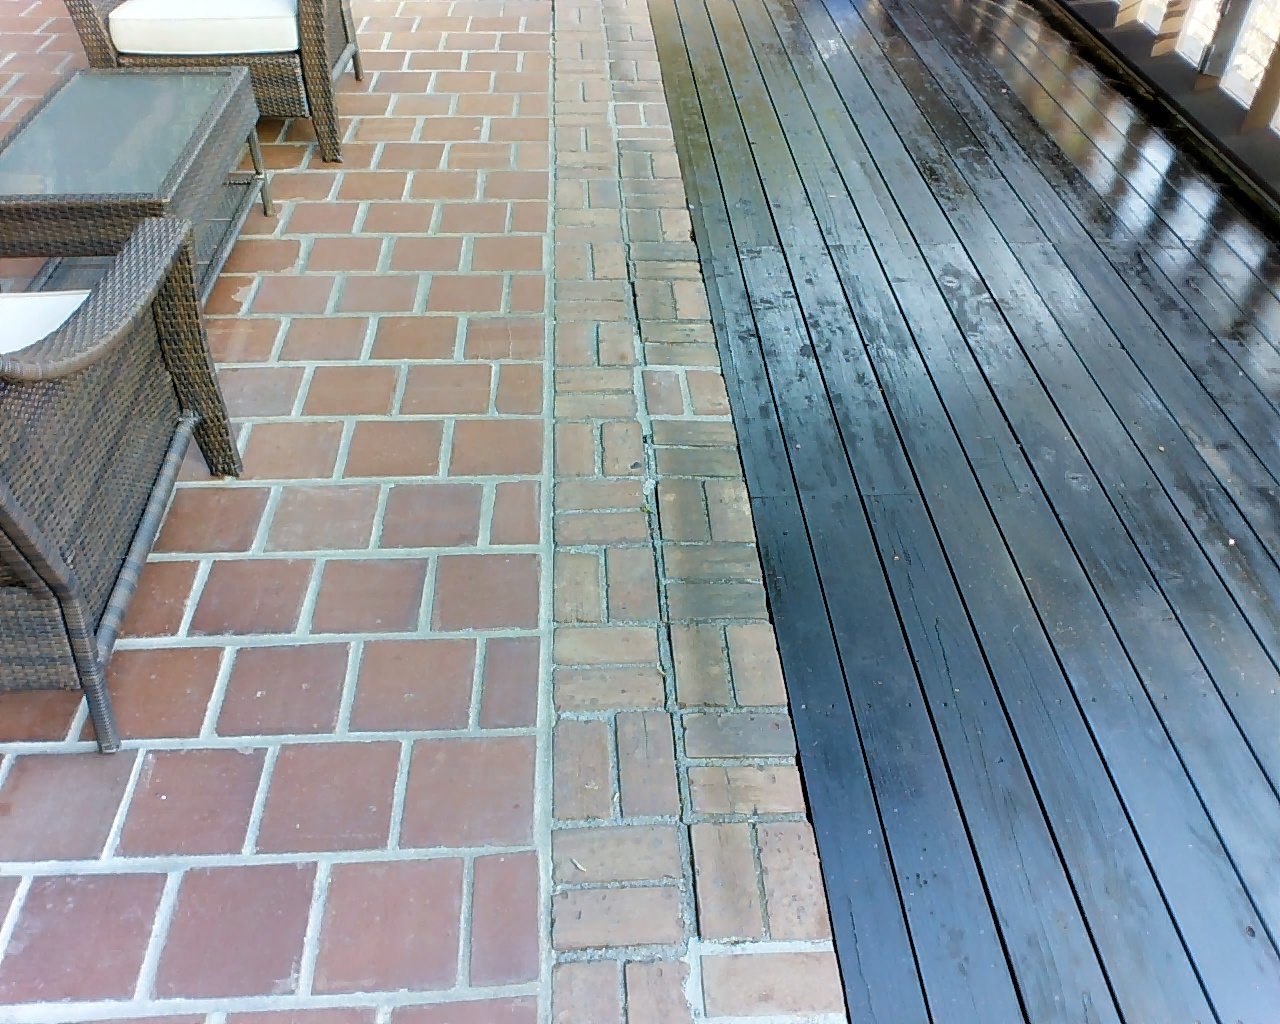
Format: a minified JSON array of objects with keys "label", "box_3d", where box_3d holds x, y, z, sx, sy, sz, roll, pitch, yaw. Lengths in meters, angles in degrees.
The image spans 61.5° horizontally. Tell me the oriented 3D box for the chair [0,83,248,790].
[{"label":"chair","box_3d":[-1.260,-0.150,1.790,0.810,0.780,0.920,-1,42,-2]}]
